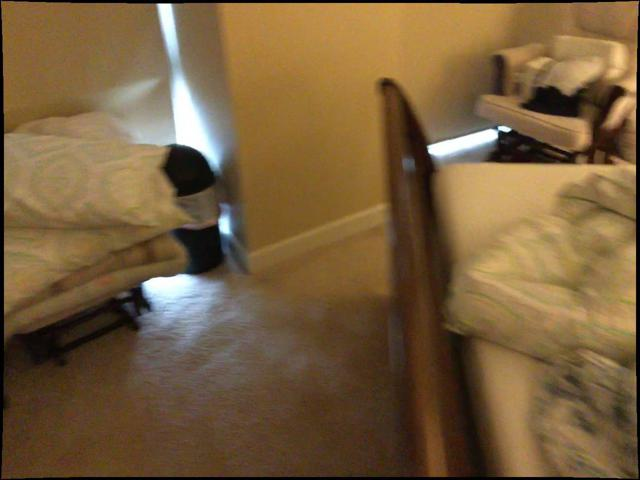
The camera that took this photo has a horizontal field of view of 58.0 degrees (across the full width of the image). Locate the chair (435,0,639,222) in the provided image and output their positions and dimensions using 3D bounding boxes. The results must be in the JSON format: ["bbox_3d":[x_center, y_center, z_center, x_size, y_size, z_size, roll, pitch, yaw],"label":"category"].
[{"bbox_3d":[1.247,-0.842,2.900,0.939,0.961,0.810,-29,45,-31],"label":"chair"}]

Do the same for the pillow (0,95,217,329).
[{"bbox_3d":[-0.938,-0.150,1.920,0.809,0.180,0.890,-28,45,-31],"label":"pillow"}]

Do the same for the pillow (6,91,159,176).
[{"bbox_3d":[-0.898,-0.421,2.240,0.419,0.170,0.370,1,37,3],"label":"pillow"}]

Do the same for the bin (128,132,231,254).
[{"bbox_3d":[-0.549,-0.190,2.340,0.289,0.401,0.280,1,37,3],"label":"bin"}]

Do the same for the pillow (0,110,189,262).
[{"bbox_3d":[-0.848,-0.190,1.800,0.728,0.210,0.530,1,37,3],"label":"pillow"}]
